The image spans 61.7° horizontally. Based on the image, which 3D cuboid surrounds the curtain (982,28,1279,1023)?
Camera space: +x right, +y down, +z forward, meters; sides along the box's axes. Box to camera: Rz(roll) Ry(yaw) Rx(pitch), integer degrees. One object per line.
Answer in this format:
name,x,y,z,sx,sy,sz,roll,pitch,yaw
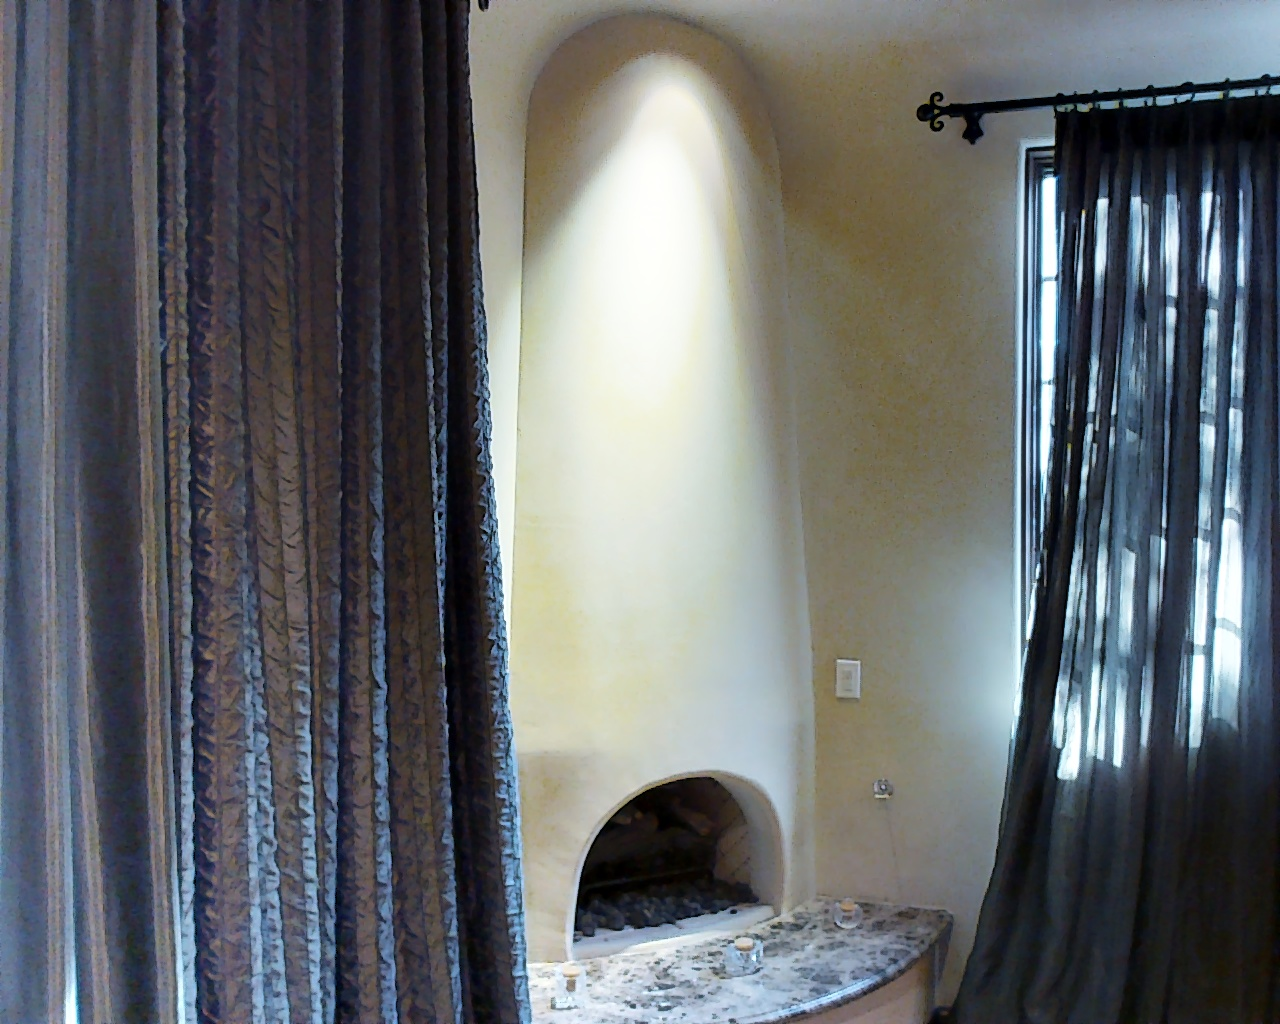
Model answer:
curtain,1.890,0.220,2.720,1.930,2.740,0.540,0,0,16
